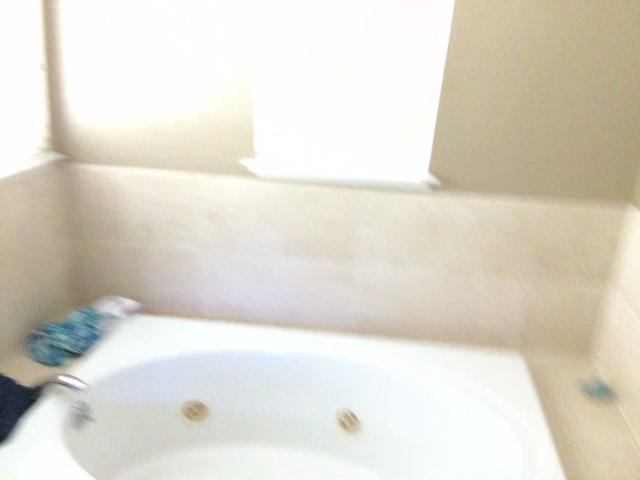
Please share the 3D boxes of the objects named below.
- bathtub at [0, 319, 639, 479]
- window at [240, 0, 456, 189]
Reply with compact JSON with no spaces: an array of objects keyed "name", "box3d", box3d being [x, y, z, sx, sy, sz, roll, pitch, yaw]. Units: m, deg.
[{"name":"bathtub","box3d":[-0.090,0.790,1.660,1.890,0.480,1.210,5,17,8]},{"name":"window","box3d":[0.080,-0.580,1.950,0.690,0.770,0.090,4,17,4]}]
